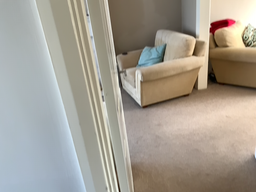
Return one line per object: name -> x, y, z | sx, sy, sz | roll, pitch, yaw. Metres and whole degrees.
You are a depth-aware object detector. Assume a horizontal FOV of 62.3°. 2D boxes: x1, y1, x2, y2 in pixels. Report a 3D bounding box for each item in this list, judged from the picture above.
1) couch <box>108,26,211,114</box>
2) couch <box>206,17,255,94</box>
couch -> 0.410, -0.500, 3.250 | 1.040, 0.880, 1.190 | -14, 25, -15
couch -> 1.910, -0.690, 3.290 | 0.980, 0.880, 1.160 | 12, 30, 34
